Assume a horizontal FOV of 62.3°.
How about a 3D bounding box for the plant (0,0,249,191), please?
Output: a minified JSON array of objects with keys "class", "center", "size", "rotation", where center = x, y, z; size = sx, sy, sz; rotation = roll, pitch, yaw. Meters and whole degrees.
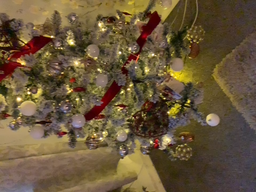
[{"class":"plant","center":[-0.480,-0.020,1.020],"size":[0.940,1.860,0.890],"rotation":[-54,51,33]}]
